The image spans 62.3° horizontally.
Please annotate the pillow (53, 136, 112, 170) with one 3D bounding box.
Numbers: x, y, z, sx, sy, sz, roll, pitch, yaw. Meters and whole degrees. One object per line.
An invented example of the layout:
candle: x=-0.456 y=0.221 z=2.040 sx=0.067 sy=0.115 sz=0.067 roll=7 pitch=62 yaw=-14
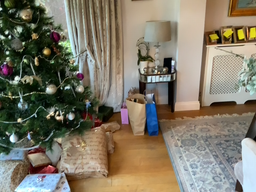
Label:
pillow: x=-0.450 y=0.540 z=2.060 sx=0.490 sy=0.450 sz=0.240 roll=-2 pitch=78 yaw=-15
